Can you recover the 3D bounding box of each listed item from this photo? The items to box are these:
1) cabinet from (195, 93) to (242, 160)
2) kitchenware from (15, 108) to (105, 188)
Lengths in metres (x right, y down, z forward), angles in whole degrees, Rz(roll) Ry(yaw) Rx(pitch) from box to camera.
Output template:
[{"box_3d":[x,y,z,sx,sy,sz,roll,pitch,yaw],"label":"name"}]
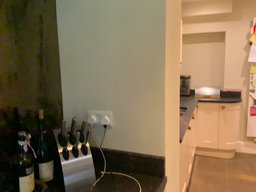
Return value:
[{"box_3d":[1.480,0.450,3.510,0.620,0.920,0.600,3,9,23],"label":"cabinet"},{"box_3d":[-0.310,0.230,1.040,0.320,0.290,0.250,1,9,12],"label":"kitchenware"}]
